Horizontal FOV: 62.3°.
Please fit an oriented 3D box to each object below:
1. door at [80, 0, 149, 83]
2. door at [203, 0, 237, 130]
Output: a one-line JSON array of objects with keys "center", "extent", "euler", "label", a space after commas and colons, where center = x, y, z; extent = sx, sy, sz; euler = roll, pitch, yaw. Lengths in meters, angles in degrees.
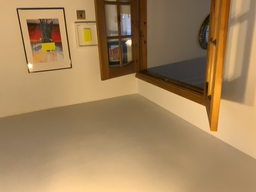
[{"center": [-0.120, -1.150, 2.200], "extent": [0.210, 1.880, 0.790], "euler": [15, -154, 42], "label": "door"}, {"center": [0.490, -0.820, 1.050], "extent": [0.090, 1.920, 0.540], "euler": [4, -160, 18], "label": "door"}]
